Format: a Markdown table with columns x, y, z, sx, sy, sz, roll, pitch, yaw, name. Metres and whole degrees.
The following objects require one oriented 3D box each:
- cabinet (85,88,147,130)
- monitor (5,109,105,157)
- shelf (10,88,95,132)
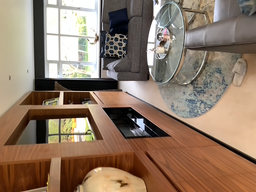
| x | y | z | sx | sy | sz | roll | pitch | yaw | name |
| --- | --- | --- | --- | --- | --- | --- | --- | --- | --- |
| -0.350 | 0.200 | 4.660 | 1.580 | 0.970 | 0.540 | -149 | 61 | -70 | cabinet |
| -0.850 | 0.370 | 2.610 | 1.350 | 0.880 | 0.090 | -149 | 61 | -70 | monitor |
| -1.440 | 0.200 | 4.260 | 1.610 | 1.320 | 0.500 | -151 | 63 | -71 | shelf |
